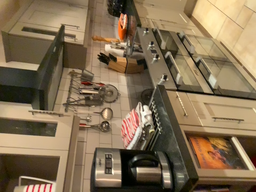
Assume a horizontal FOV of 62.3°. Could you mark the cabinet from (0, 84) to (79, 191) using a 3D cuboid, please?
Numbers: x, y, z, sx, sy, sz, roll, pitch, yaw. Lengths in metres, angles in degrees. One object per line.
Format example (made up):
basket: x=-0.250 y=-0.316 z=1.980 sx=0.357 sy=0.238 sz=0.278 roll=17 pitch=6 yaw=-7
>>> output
cabinet: x=-0.760 y=0.340 z=1.320 sx=0.910 sy=0.800 sz=0.320 roll=-99 pitch=19 yaw=-50

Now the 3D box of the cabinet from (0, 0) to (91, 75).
cabinet: x=-0.910 y=-0.780 z=2.630 sx=1.130 sy=0.830 sz=0.360 roll=-99 pitch=19 yaw=-50
